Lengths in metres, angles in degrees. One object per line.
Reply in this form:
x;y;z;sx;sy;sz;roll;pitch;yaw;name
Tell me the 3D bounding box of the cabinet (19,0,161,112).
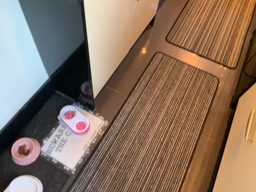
-0.100;-0.570;1.360;0.320;0.910;1.030;28;61;10;cabinet
